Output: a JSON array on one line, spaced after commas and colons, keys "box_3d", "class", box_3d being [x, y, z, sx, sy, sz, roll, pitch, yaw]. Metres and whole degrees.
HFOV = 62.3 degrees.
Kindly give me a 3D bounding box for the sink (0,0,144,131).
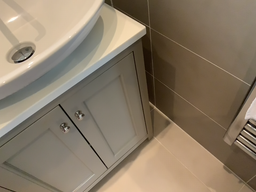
[{"box_3d": [-0.290, -0.150, 0.560, 0.570, 0.120, 0.350, -38, 58, -16], "class": "sink"}]
